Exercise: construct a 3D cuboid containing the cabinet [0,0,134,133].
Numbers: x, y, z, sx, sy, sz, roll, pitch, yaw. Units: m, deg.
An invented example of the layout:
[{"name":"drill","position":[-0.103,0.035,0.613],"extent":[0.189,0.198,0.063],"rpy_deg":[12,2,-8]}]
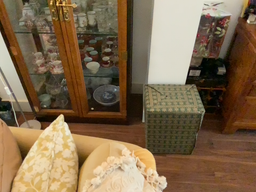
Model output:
[{"name":"cabinet","position":[-0.370,-0.630,1.290],"extent":[0.800,2.030,0.490],"rpy_deg":[3,42,3]}]
